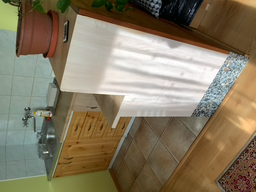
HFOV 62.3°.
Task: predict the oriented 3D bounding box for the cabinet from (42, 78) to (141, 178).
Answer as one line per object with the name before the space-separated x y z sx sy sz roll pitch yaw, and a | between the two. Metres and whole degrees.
cabinet | -0.500 0.390 2.640 0.600 0.850 0.970 55 131 44

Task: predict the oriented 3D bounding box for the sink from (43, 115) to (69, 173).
sink | -0.890 0.570 2.580 0.530 0.140 0.420 55 131 44
